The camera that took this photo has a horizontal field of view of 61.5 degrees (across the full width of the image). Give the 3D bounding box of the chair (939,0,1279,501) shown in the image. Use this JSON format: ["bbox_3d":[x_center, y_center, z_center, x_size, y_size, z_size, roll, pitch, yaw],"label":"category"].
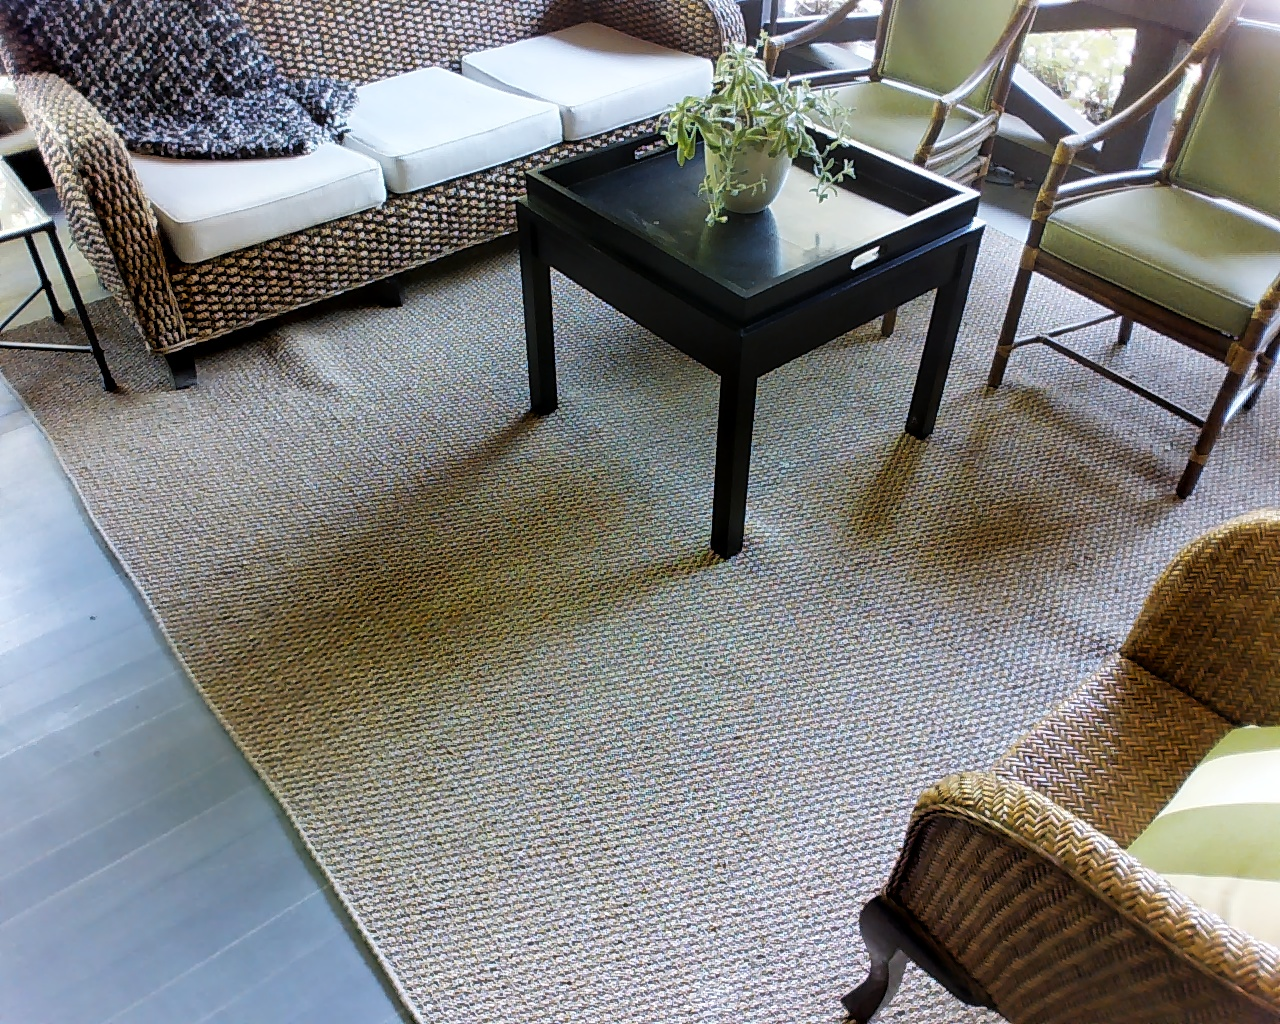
[{"bbox_3d":[1.250,-0.680,2.440,0.630,0.920,0.700,-28,49,-29],"label":"chair"}]

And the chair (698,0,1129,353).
[{"bbox_3d":[0.690,-1.120,2.910,0.630,0.950,0.820,-28,49,-29],"label":"chair"}]

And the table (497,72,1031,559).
[{"bbox_3d":[0.250,-0.500,2.470,0.810,0.610,0.780,-28,50,-29],"label":"table"}]

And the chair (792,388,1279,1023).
[{"bbox_3d":[0.700,0.450,1.280,0.690,0.790,0.650,-28,50,-29],"label":"chair"}]

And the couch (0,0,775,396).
[{"bbox_3d":[-0.680,-1.280,3.130,2.030,0.870,0.950,-28,49,-29],"label":"couch"}]
